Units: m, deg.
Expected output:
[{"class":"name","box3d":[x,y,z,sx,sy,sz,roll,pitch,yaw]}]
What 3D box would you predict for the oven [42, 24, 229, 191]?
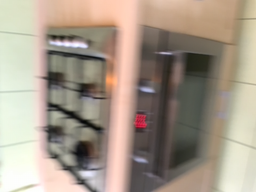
[{"class":"oven","box3d":[0.020,0.020,1.060,0.570,0.670,0.610,17,107,45]}]
